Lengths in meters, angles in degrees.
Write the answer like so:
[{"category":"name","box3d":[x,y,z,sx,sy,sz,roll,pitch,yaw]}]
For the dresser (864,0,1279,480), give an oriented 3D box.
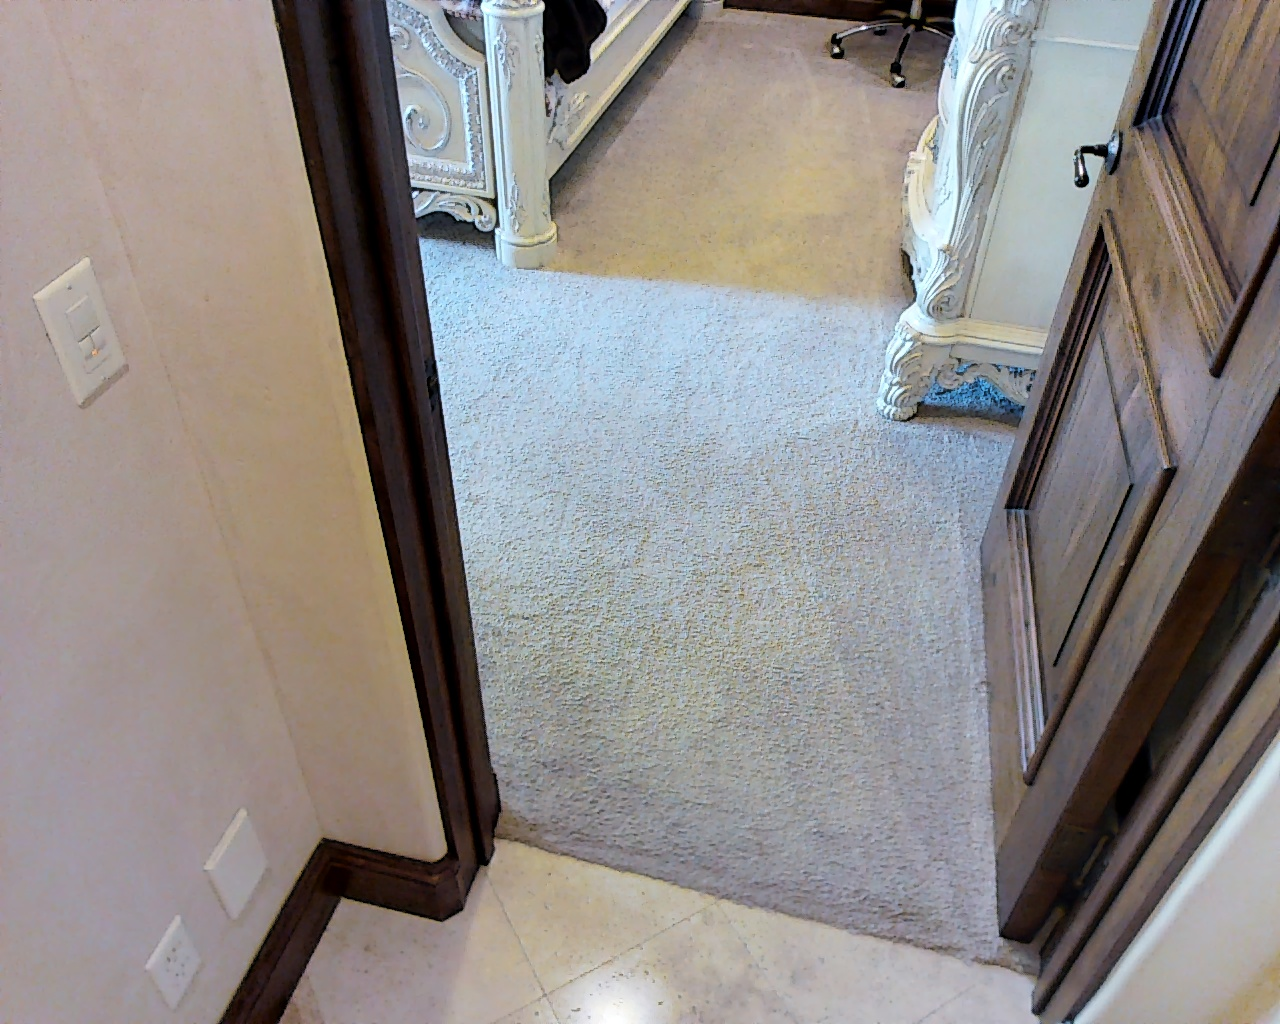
[{"category":"dresser","box3d":[1.060,-1.180,2.840,0.570,1.170,1.930,10,43,10]}]
